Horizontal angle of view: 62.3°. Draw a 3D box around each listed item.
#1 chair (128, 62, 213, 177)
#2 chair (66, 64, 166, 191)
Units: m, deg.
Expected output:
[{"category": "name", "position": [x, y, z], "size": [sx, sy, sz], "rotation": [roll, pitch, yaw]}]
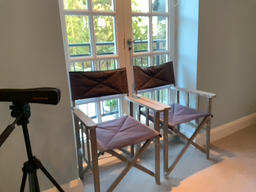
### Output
[{"category": "chair", "position": [0.380, 0.150, 1.980], "size": [0.520, 0.860, 0.530], "rotation": [-11, 16, -31]}, {"category": "chair", "position": [-0.090, 0.240, 1.650], "size": [0.530, 0.890, 0.540], "rotation": [-11, 16, -31]}]
